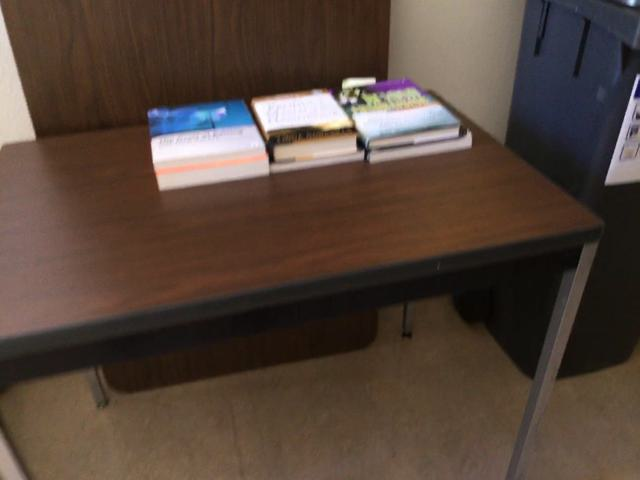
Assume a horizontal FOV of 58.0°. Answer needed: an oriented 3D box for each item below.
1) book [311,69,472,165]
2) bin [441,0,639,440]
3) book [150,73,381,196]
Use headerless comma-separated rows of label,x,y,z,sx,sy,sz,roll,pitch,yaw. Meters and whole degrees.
book,0.130,-0.260,1.170,0.220,0.060,0.310,-12,33,-11
bin,0.700,-0.150,1.440,0.540,1.060,0.580,-12,33,-11
book,-0.120,-0.220,1.120,0.390,0.070,0.310,-12,33,-11
